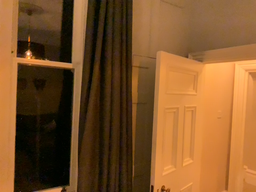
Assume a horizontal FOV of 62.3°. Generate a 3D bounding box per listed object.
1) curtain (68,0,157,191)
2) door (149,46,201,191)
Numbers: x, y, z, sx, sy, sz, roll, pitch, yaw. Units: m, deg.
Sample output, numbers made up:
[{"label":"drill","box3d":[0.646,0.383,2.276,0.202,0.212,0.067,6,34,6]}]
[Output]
[{"label":"curtain","box3d":[-0.120,0.050,1.750,0.640,3.130,0.220,1,3,-37]},{"label":"door","box3d":[0.470,0.620,2.070,0.040,2.060,0.790,5,3,42]}]
